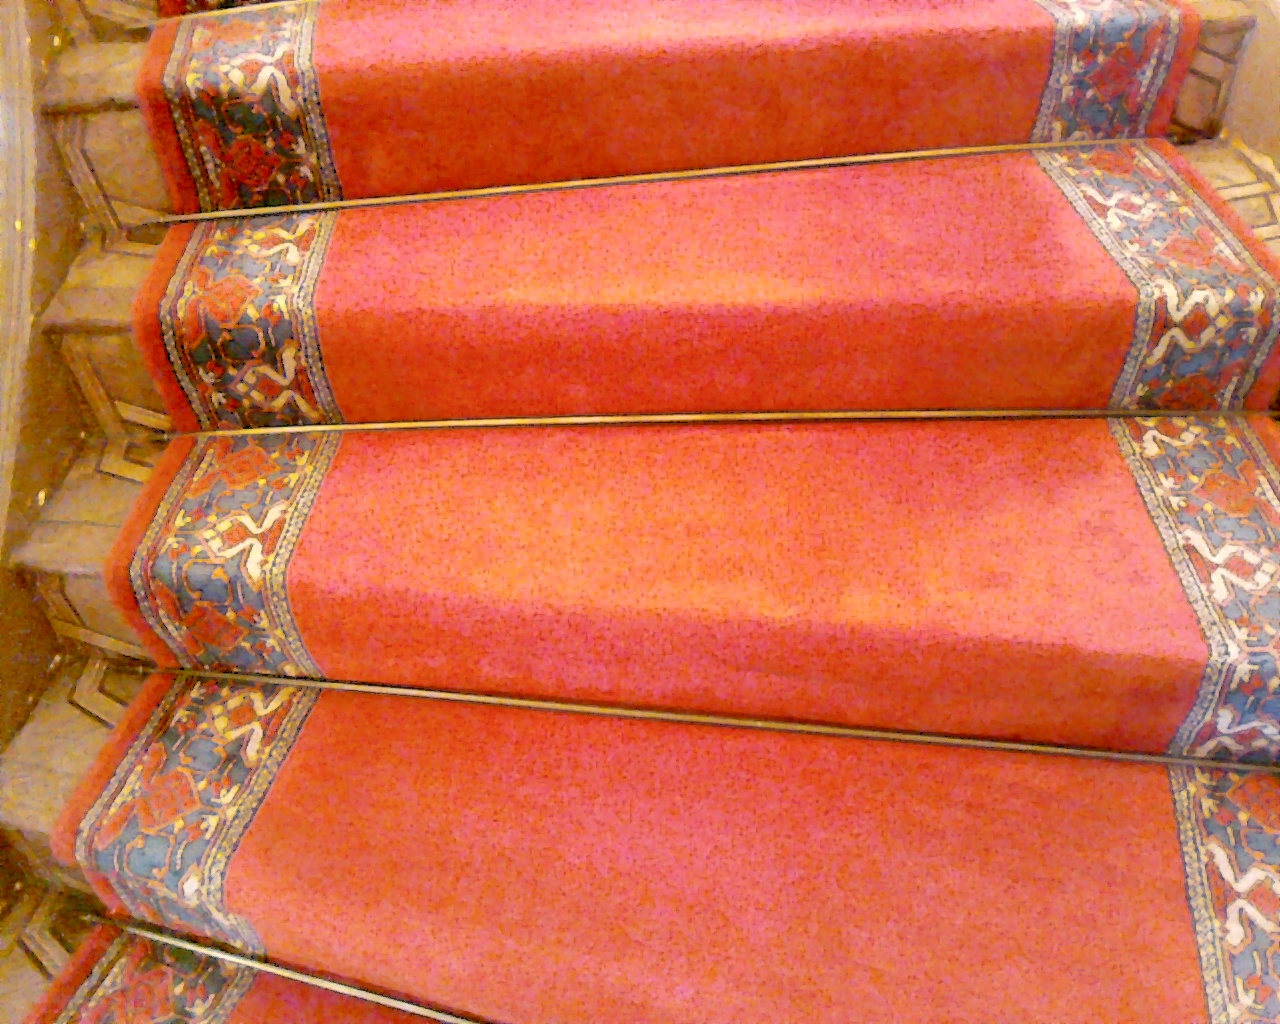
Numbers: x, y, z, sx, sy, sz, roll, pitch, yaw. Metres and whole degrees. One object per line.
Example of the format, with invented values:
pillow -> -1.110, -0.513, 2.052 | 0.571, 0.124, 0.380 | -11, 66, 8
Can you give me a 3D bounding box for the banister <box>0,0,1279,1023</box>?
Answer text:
banister -> -0.240, 1.150, 0.750 | 1.880, 3.521, 5.720 | 19, 46, 20
